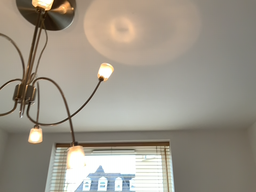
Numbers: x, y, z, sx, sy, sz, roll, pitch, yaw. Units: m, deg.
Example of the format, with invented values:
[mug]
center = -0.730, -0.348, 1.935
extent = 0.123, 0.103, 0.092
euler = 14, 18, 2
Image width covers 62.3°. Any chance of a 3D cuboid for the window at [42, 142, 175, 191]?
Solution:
[window]
center = -0.190, 1.070, 1.860
extent = 1.230, 1.310, 0.070
euler = -2, -28, 5
